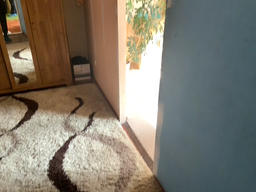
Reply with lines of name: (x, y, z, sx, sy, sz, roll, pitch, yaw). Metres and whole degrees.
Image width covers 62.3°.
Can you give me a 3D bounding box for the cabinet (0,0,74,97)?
cabinet: (-1.530, -1.010, 2.830, 1.300, 1.890, 0.630, -10, 30, -22)
